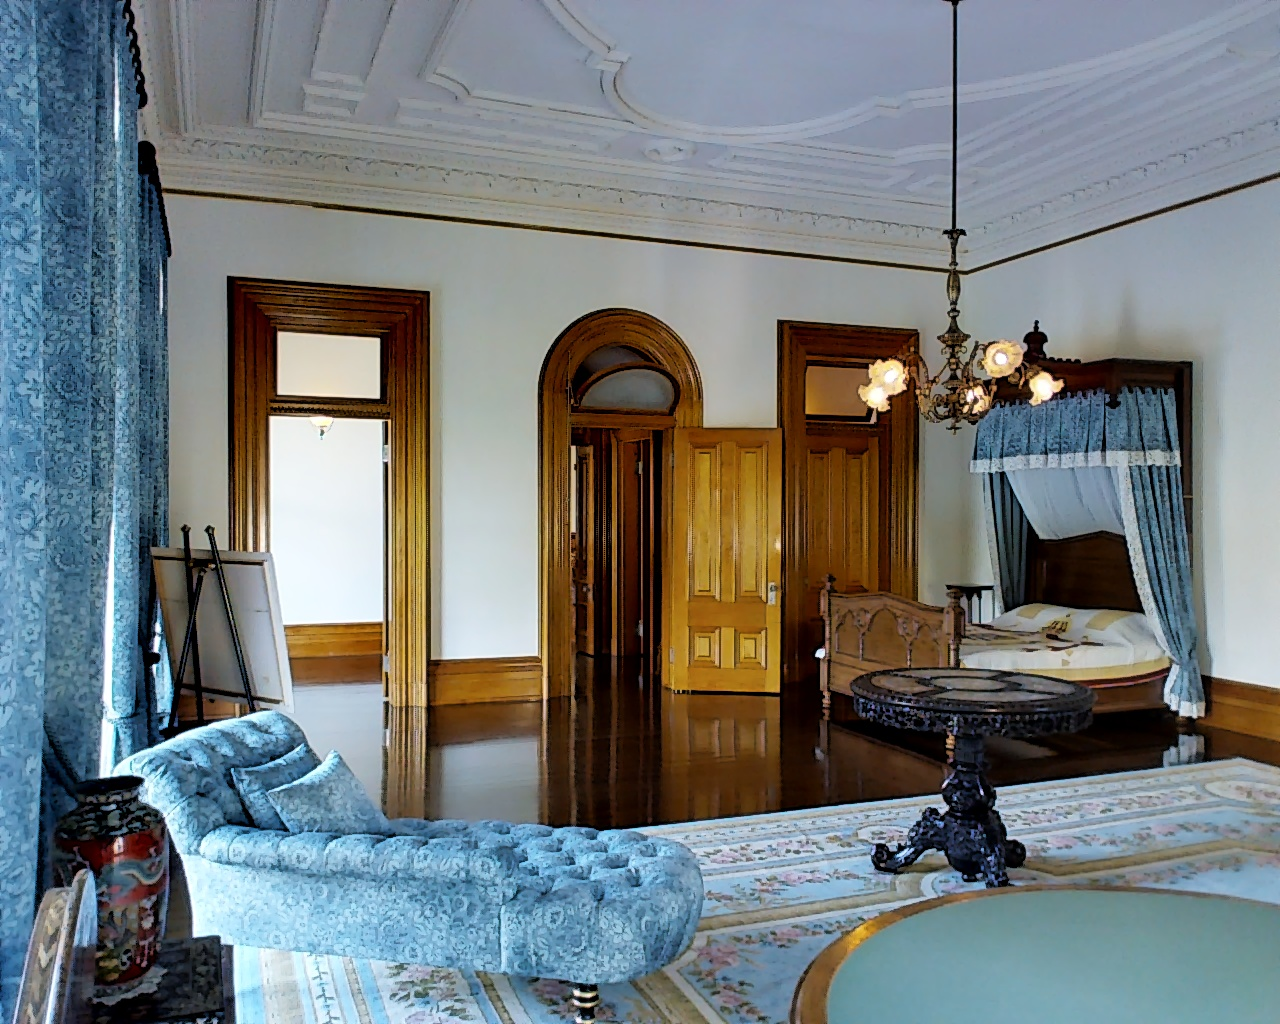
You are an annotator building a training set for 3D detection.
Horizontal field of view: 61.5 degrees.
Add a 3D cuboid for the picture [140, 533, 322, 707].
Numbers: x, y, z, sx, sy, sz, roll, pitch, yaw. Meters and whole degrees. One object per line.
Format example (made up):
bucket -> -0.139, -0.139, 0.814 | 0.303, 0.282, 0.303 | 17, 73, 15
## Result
picture -> -1.980, 0.530, 5.160 | 1.000, 0.770, 0.160 | -6, 4, 35
